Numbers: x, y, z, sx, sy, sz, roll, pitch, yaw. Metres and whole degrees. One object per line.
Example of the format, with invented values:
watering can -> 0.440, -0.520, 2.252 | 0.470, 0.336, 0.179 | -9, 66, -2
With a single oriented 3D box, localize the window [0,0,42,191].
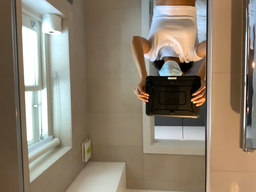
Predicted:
window -> -0.690, 0.070, 1.240 | 0.060, 1.200, 0.500 | 0, -176, 8
